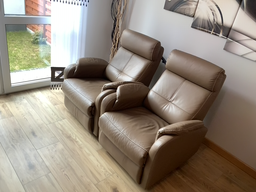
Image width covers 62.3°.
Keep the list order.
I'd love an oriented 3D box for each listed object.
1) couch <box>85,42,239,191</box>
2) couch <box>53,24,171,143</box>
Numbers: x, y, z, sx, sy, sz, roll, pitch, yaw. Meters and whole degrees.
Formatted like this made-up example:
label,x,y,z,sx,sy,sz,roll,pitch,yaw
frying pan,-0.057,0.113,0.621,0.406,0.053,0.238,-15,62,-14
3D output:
label,x,y,z,sx,sy,sz,roll,pitch,yaw
couch,0.260,0.130,1.940,0.950,0.980,0.750,-16,40,-41
couch,-0.220,-0.220,2.400,0.930,0.960,0.760,-16,40,-41
